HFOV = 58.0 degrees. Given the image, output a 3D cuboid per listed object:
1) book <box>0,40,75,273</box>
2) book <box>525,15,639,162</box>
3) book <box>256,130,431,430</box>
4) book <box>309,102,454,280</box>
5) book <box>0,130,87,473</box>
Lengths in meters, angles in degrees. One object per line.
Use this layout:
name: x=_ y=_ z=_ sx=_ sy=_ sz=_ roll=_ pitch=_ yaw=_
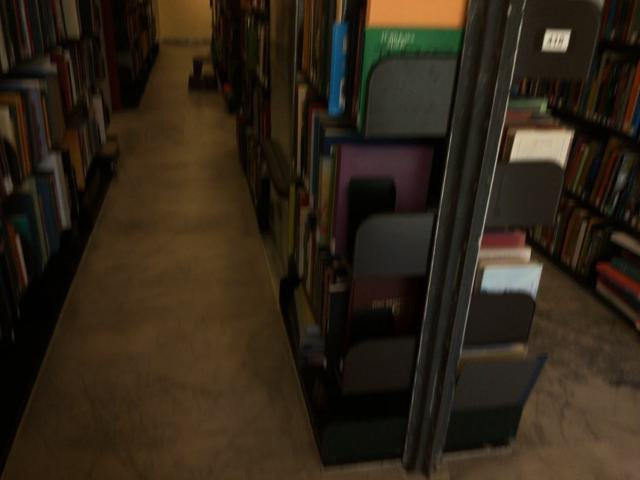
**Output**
book: x=-1.130 y=-0.310 z=1.880 sx=0.310 sy=0.470 sz=1.630 roll=-4 pitch=26 yaw=-12
book: x=1.390 y=-0.570 z=2.280 sx=0.290 sy=0.480 sz=1.540 roll=-4 pitch=26 yaw=-12
book: x=-0.010 y=0.010 z=2.200 sx=0.290 sy=0.500 sz=1.410 roll=-4 pitch=26 yaw=-12
book: x=0.140 y=-0.130 z=1.480 sx=0.300 sy=0.400 sz=0.190 roll=-4 pitch=26 yaw=-12
book: x=-1.130 y=0.060 z=1.940 sx=0.390 sy=0.480 sz=1.480 roll=-4 pitch=26 yaw=-12
